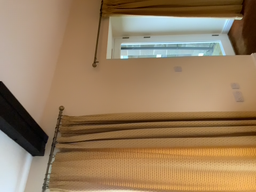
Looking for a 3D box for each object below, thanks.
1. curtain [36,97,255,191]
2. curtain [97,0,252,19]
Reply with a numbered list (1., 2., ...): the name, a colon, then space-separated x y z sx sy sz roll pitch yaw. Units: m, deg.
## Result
1. curtain: 0.500 0.470 2.050 0.220 2.520 0.930 86 -177 -59
2. curtain: 0.690 -1.530 3.400 0.280 2.290 0.480 87 -177 -57
